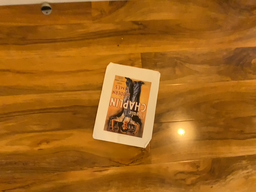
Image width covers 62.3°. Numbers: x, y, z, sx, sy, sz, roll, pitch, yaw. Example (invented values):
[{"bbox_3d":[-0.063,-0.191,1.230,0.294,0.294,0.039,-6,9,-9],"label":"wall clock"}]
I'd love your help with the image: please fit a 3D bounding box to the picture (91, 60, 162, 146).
[{"bbox_3d":[0.000,0.020,0.780,0.220,0.010,0.290,8,76,-2],"label":"picture"}]
